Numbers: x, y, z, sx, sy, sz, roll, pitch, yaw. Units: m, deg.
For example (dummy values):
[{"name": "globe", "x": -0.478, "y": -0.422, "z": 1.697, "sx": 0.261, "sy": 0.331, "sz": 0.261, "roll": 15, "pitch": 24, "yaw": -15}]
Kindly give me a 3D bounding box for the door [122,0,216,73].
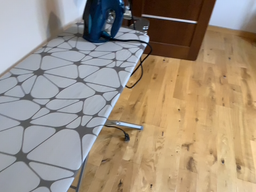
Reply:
[{"name": "door", "x": 0.440, "y": -1.180, "z": 1.910, "sx": 0.840, "sy": 2.100, "sz": 0.130, "roll": 13, "pitch": 43, "yaw": 7}]
